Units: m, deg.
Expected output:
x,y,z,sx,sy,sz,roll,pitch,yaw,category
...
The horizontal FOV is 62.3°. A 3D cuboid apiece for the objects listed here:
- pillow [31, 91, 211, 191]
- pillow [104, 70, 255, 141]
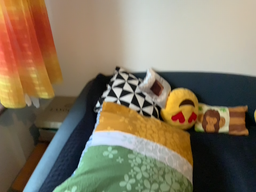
x,y,z,sx,sy,sz,roll,pitch,yaw,category
0.020,0.300,1.050,0.610,0.300,0.680,5,32,7,pillow
0.360,0.060,1.460,1.000,0.380,0.250,2,32,2,pillow
